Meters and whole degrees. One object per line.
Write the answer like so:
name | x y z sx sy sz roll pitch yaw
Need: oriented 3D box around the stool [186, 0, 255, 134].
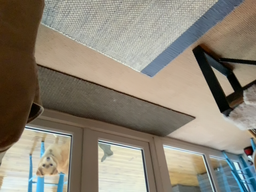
stool | 0.850 -0.270 0.990 0.500 0.490 0.910 23 135 -36
